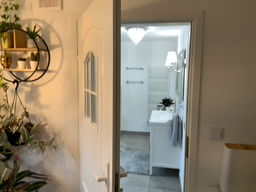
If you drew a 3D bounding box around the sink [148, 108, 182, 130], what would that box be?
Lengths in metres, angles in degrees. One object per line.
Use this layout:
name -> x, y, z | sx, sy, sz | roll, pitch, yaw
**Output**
sink -> 0.660, 0.390, 3.800 | 0.520, 0.130, 1.060 | 2, 7, 10
